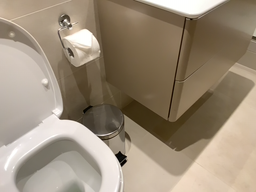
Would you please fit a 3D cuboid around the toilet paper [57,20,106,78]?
[{"bbox_3d":[-0.180,-0.190,0.850,0.120,0.160,0.120,32,53,30],"label":"toilet paper"}]

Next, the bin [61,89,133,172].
[{"bbox_3d":[-0.150,0.180,1.160,0.220,0.260,0.290,34,54,31],"label":"bin"}]

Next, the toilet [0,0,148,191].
[{"bbox_3d":[-0.280,0.220,0.700,0.510,0.820,0.400,33,53,31],"label":"toilet"}]
